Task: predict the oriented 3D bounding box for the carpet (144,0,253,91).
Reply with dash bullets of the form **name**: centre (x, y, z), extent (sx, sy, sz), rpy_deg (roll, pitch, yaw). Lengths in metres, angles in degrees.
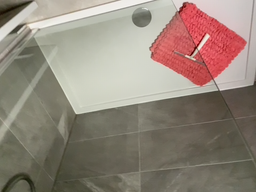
- **carpet**: centre (0.450, -0.300, 1.390), extent (0.540, 0.050, 0.430), rpy_deg (25, 125, -19)
